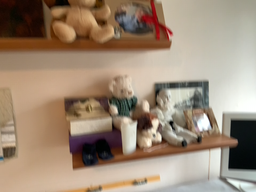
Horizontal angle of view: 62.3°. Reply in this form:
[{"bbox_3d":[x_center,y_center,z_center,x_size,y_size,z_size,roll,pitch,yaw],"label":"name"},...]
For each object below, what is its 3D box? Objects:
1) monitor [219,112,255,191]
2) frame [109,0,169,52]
[{"bbox_3d":[0.700,0.280,1.030,0.460,0.390,0.030,1,10,9],"label":"monitor"},{"bbox_3d":[0.040,-0.280,0.850,0.210,0.200,0.120,-3,10,-14],"label":"frame"}]
